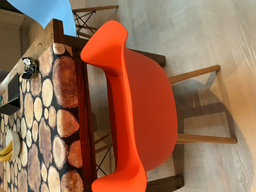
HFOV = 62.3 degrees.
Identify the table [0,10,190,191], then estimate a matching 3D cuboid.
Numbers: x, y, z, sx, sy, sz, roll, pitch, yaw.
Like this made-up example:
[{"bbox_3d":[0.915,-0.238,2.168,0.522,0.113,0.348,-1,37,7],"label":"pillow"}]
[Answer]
[{"bbox_3d":[-0.580,0.280,1.740,1.850,0.760,0.940,-16,78,48],"label":"table"}]
